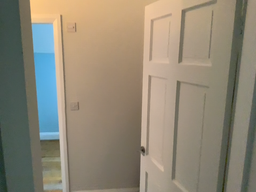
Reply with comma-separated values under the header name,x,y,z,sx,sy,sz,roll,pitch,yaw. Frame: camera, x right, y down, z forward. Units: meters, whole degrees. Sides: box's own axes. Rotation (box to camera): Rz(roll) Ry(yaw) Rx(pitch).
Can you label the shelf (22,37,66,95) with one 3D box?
name,x,y,z,sx,sy,sz,roll,pitch,yaw
shelf,-1.490,-0.510,3.730,0.780,0.910,0.300,4,7,35
